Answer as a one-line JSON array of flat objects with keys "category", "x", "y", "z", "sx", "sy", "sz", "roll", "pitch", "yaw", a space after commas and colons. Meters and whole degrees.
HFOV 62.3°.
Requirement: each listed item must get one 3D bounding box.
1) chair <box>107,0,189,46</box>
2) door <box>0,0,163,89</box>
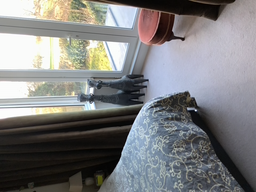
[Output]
[{"category": "chair", "x": 0.210, "y": -0.960, "z": 2.410, "sx": 0.540, "sy": 0.750, "sz": 0.690, "roll": -158, "pitch": 68, "yaw": -65}, {"category": "door", "x": -0.750, "y": -0.920, "z": 2.740, "sx": 0.080, "sy": 2.380, "sz": 2.060, "roll": -115, "pitch": 32, "yaw": -43}]
